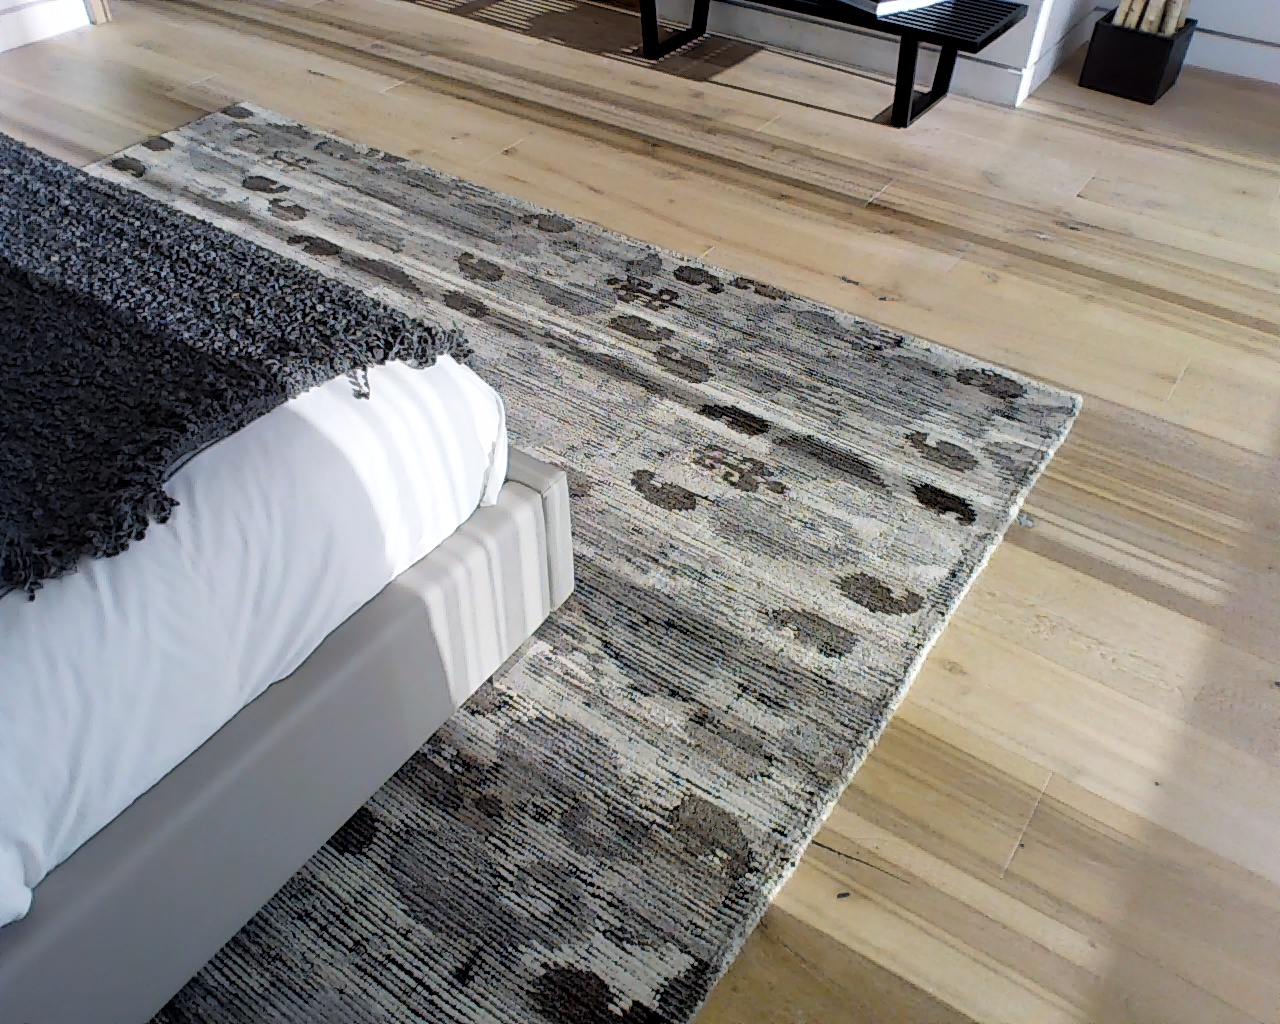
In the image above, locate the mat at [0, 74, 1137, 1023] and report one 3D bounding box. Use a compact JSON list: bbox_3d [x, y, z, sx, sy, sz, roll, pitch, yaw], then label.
[{"bbox_3d":[-0.820,-0.220,2.530,3.170,0.110,2.500,26,48,24],"label":"mat"}]
